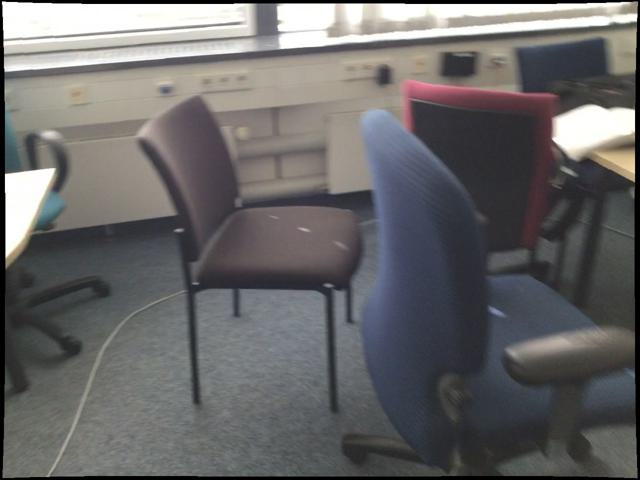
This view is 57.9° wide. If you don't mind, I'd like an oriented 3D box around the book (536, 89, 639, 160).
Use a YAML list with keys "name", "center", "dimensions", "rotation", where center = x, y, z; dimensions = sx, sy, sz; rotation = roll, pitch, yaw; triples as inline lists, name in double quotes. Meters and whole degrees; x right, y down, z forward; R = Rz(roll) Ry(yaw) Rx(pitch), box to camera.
- name: "book"
  center: [0.909, -0.350, 1.700]
  dimensions: [0.420, 0.080, 0.360]
  rotation: [-2, 30, 1]
